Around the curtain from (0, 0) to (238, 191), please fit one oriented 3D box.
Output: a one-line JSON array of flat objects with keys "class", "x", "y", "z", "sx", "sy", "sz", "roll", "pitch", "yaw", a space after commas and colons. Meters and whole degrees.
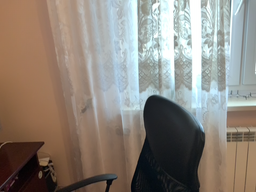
[{"class": "curtain", "x": -0.100, "y": -0.300, "z": 1.460, "sx": 1.470, "sy": 2.770, "sz": 0.250, "roll": 0, "pitch": 17, "yaw": 14}]
